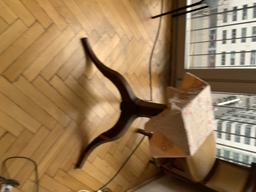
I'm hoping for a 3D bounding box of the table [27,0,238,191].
[{"bbox_3d":[0.100,-0.030,1.250,0.800,0.690,0.790,-40,121,-34],"label":"table"}]
